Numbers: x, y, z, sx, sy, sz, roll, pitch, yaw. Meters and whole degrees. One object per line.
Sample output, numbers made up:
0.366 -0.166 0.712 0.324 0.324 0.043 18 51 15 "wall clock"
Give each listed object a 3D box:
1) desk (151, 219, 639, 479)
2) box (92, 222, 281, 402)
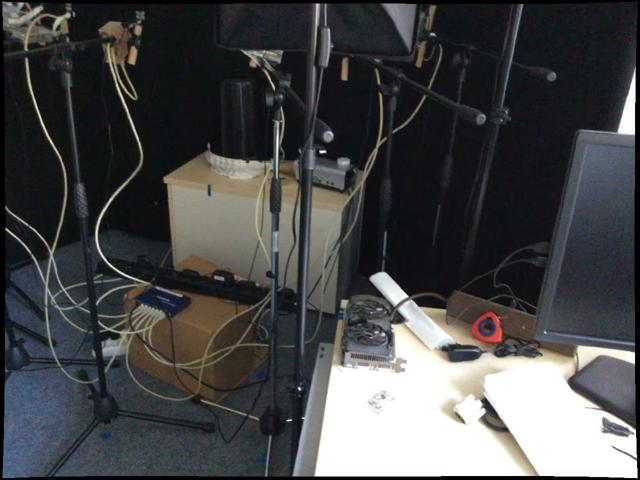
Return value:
0.559 0.340 0.940 1.419 0.150 0.940 10 30 16 "desk"
-0.460 0.240 2.150 0.470 0.370 0.490 10 30 16 "box"
